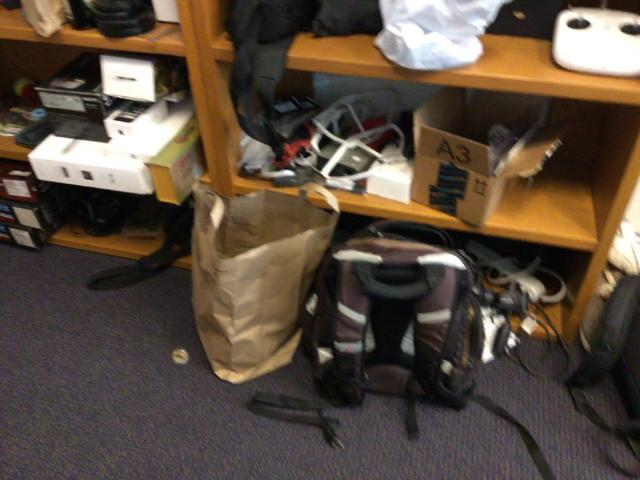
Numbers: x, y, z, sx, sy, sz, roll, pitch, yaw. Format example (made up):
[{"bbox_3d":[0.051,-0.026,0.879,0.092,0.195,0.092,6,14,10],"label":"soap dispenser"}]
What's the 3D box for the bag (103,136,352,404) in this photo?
[{"bbox_3d":[-0.170,0.060,1.350,0.400,0.460,0.340,8,39,16],"label":"bag"}]
